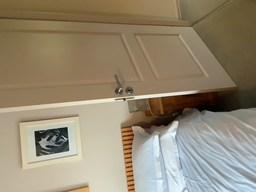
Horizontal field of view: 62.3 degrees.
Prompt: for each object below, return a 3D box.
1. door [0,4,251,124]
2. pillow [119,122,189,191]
[{"bbox_3d":[-0.140,-0.340,1.650,0.080,2.130,1.040,112,145,-47],"label":"door"},{"bbox_3d":[0.200,0.630,1.760,0.510,0.310,0.770,167,98,-67],"label":"pillow"}]
